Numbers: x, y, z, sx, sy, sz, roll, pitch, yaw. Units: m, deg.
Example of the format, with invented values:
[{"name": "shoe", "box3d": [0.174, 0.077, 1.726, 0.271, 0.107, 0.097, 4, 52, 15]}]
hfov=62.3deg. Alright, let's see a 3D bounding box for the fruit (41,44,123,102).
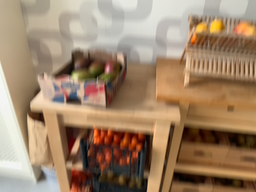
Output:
[{"name": "fruit", "box3d": [-0.180, -0.130, 1.000, 0.280, 0.090, 0.400, 4, 32, 2]}]
